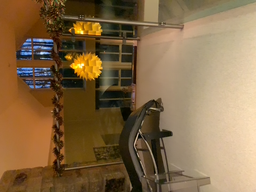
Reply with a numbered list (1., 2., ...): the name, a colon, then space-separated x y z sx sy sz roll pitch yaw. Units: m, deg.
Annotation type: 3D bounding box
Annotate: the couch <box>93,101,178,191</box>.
1. couch: 0.050 0.810 2.190 0.610 0.660 1.400 145 122 -68
